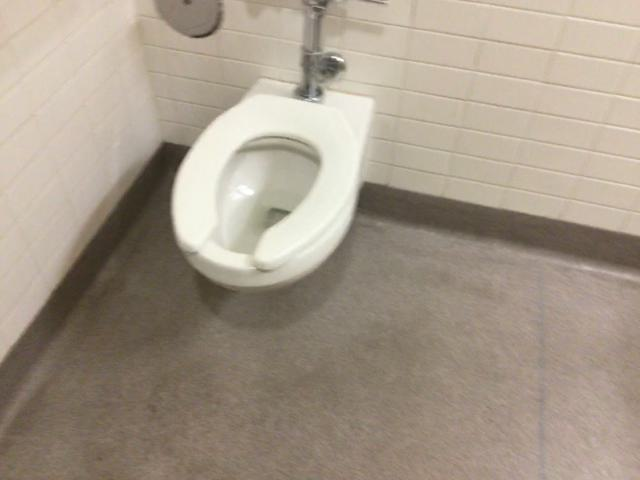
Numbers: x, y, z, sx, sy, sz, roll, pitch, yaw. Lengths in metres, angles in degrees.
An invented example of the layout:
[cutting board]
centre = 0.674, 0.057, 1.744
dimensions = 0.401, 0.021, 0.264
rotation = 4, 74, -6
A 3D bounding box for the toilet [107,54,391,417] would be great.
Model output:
[toilet]
centre = -0.110, -0.030, 1.370
dimensions = 0.390, 0.500, 0.630
rotation = 12, 47, 9
